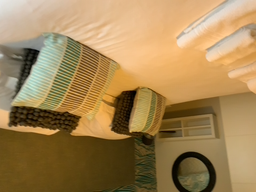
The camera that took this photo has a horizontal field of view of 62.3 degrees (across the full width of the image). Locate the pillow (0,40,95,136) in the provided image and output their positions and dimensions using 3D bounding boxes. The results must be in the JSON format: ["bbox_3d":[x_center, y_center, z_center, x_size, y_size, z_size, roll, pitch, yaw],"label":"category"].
[{"bbox_3d":[-0.420,-0.020,1.120,0.150,0.410,0.370,17,178,39],"label":"pillow"}]

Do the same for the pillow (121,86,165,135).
[{"bbox_3d":[0.140,0.130,1.750,0.130,0.340,0.380,7,172,36],"label":"pillow"}]

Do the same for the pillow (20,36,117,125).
[{"bbox_3d":[-0.260,-0.050,1.030,0.120,0.330,0.390,14,176,35],"label":"pillow"}]
